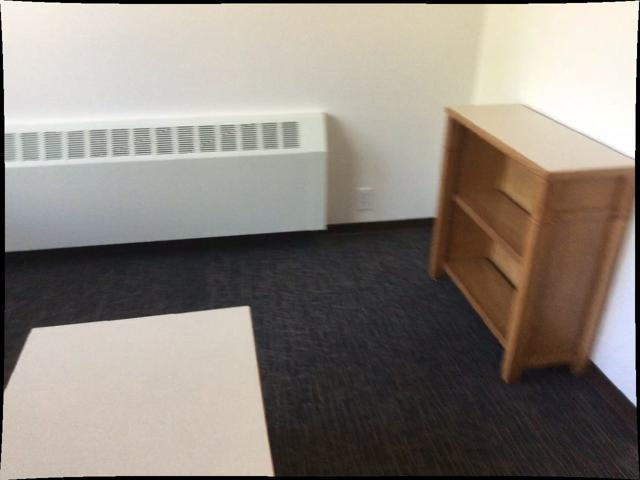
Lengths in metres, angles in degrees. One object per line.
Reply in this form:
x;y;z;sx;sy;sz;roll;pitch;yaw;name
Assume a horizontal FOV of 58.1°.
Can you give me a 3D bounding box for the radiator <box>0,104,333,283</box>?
-0.988;-0.190;2.500;2.077;0.641;0.240;-5;29;-9;radiator
